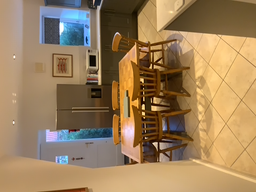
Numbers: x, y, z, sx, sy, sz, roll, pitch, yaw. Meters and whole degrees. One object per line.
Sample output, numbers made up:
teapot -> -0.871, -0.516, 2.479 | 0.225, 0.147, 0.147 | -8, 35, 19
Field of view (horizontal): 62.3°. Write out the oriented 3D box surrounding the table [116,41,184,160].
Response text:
table -> 0.280, 0.090, 3.320 | 0.960, 0.710, 1.550 | 162, 107, -73
